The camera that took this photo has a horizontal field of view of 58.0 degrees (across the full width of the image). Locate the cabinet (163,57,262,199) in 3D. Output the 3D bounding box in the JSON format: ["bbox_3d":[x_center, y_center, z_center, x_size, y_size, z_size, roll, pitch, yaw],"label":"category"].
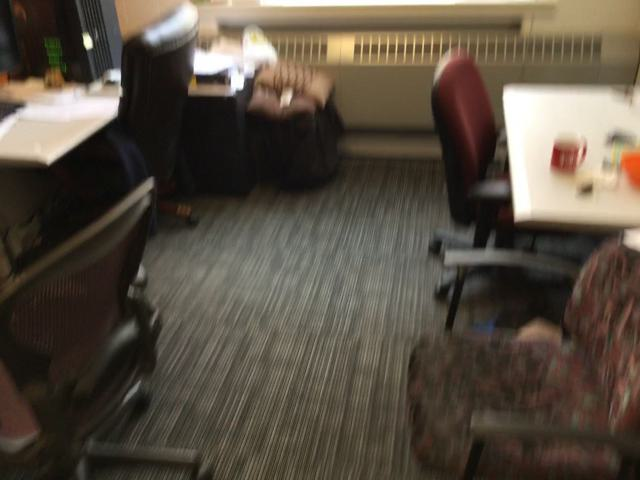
[{"bbox_3d":[-0.570,-0.620,3.190,0.380,0.680,0.340,5,29,10],"label":"cabinet"}]

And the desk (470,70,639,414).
[{"bbox_3d":[1.040,-0.090,2.200,0.780,0.810,1.210,5,29,10],"label":"desk"}]

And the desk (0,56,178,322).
[{"bbox_3d":[-1.290,-0.300,2.630,0.840,0.830,0.980,5,29,10],"label":"desk"}]
